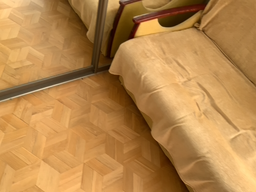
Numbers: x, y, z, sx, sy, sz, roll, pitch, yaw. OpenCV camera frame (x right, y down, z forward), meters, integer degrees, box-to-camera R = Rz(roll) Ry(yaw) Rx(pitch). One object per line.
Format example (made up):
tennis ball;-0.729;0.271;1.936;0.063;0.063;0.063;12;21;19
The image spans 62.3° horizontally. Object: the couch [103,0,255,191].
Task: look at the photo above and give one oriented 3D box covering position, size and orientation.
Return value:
couch;0.710;-0.070;1.270;1.130;0.930;1.330;-20;64;-26
